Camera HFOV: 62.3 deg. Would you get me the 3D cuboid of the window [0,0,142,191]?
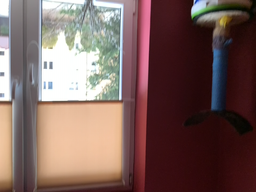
[{"bbox_3d":[-0.630,-0.080,1.290,1.420,1.520,0.150,1,-177,-13],"label":"window"}]
